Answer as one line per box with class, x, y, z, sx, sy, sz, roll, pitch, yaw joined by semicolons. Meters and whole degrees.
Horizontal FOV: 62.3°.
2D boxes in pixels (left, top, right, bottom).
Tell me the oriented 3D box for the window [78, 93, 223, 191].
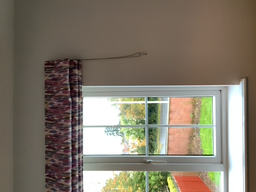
window;0.160;0.550;1.560;0.050;1.050;1.140;3;-93;-88
